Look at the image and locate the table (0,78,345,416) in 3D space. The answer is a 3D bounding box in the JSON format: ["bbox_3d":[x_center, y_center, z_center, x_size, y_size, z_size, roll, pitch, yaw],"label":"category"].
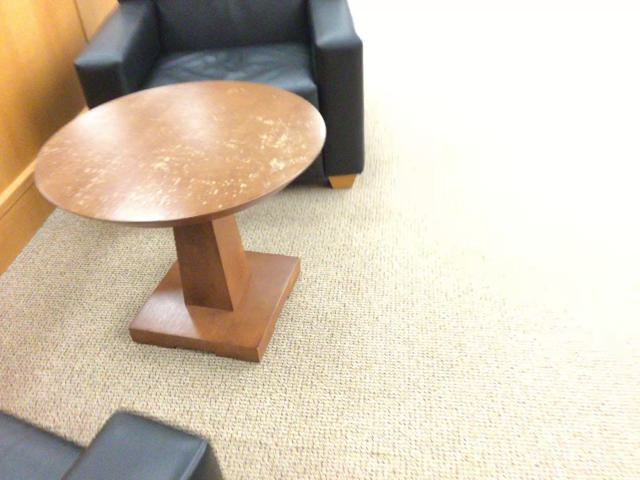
[{"bbox_3d":[-0.340,-0.020,1.560,0.690,0.580,0.660,4,40,11],"label":"table"}]
